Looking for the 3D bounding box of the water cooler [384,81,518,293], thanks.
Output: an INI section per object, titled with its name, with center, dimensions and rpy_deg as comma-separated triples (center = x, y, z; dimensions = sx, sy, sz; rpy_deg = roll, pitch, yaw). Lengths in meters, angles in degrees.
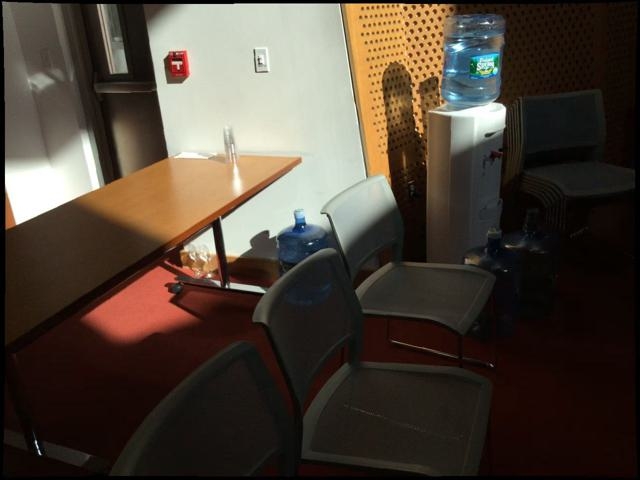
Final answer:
[water cooler]
center = 0.679, -0.250, 2.850
dimensions = 0.520, 0.901, 0.440
rpy_deg = 2, 31, 23
